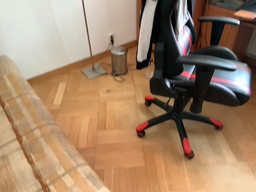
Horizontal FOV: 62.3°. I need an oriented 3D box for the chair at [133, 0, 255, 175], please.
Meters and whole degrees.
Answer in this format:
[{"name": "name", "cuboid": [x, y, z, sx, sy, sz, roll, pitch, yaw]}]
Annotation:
[{"name": "chair", "cuboid": [0.450, -0.290, 1.300, 0.620, 1.380, 0.700, 14, 42, 18]}]
